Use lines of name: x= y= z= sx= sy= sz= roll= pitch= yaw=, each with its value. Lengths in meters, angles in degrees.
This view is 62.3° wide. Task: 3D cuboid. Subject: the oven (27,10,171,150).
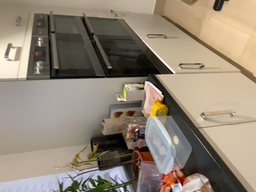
oven: x=-0.360 y=-0.260 z=1.920 sx=1.260 sy=0.880 sz=0.610 roll=-118 pitch=31 yaw=-50

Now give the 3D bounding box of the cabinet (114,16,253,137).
cabinet: x=0.390 y=-0.300 z=2.180 sx=1.290 sy=0.710 sz=0.610 roll=-118 pitch=31 yaw=-50
